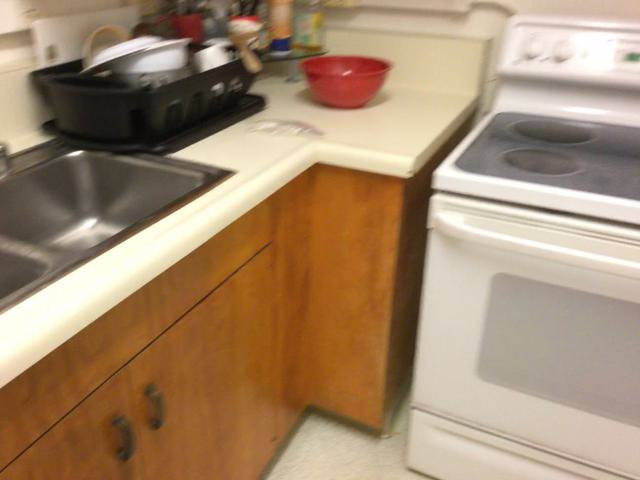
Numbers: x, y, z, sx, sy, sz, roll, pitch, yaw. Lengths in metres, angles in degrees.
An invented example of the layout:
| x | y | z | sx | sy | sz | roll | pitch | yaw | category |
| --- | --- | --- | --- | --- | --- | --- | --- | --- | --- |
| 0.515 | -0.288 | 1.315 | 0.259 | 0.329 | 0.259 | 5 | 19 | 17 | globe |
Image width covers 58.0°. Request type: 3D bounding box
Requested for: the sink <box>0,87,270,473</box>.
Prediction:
| x | y | z | sx | sy | sz | roll | pitch | yaw | category |
| --- | --- | --- | --- | --- | --- | --- | --- | --- | --- |
| -0.570 | 0.010 | 0.990 | 0.580 | 0.290 | 0.930 | 14 | 30 | 21 | sink |

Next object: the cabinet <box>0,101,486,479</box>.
| x | y | z | sx | sy | sz | roll | pitch | yaw | category |
| --- | --- | --- | --- | --- | --- | --- | --- | --- | --- |
| -0.020 | 0.310 | 1.340 | 0.320 | 0.840 | 1.810 | 14 | 30 | 21 | cabinet |

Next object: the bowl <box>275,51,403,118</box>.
| x | y | z | sx | sy | sz | roll | pitch | yaw | category |
| --- | --- | --- | --- | --- | --- | --- | --- | --- | --- |
| 0.060 | -0.450 | 1.640 | 0.260 | 0.100 | 0.300 | 14 | 30 | 21 | bowl |
